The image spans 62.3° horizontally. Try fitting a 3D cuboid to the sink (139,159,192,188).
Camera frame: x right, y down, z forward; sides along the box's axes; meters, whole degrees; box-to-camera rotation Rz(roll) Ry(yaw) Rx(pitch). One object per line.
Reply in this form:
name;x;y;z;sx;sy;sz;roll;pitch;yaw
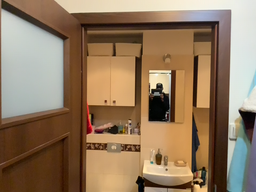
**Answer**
sink;0.390;0.830;2.300;0.520;0.140;0.370;1;3;5
